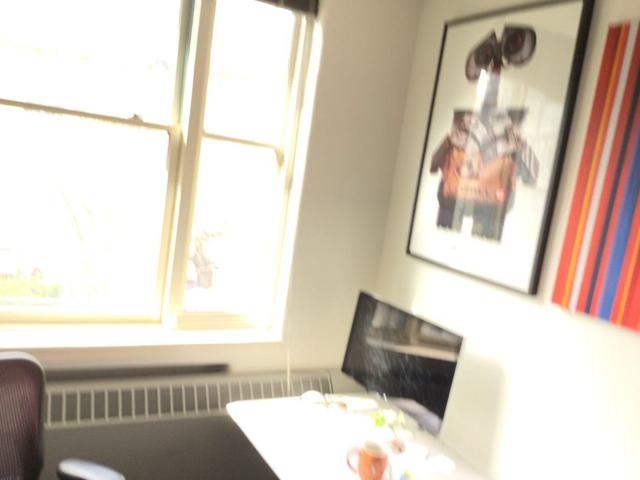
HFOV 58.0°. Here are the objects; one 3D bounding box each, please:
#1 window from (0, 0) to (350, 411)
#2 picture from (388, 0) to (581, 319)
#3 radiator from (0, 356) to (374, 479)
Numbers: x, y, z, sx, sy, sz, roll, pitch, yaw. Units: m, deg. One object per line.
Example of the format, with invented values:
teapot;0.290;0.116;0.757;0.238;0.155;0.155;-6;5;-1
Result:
window;-1.010;-0.300;2.120;2.130;1.760;0.370;6;3;-27
picture;0.590;-0.330;2.240;0.100;1.130;0.700;6;3;-30
radiator;-0.960;0.800;2.130;2.400;0.650;0.390;6;3;-27
